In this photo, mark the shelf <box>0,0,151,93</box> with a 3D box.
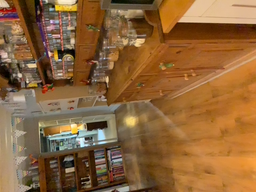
[{"bbox_3d":[-0.640,-0.390,1.730,1.620,1.090,0.250,141,122,-69],"label":"shelf"}]

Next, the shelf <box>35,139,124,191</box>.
[{"bbox_3d":[-1.160,1.710,5.230,0.330,1.990,0.970,138,125,-68],"label":"shelf"}]
